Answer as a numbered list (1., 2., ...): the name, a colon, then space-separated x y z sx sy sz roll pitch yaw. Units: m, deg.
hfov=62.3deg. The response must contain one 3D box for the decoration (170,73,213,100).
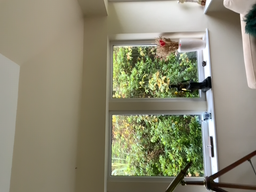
1. decoration: 0.790 -0.110 2.690 0.270 0.450 0.270 82 -172 -74

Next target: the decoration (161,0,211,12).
1. decoration: 0.740 -1.220 2.740 0.190 0.580 0.180 -87 -4 -51
